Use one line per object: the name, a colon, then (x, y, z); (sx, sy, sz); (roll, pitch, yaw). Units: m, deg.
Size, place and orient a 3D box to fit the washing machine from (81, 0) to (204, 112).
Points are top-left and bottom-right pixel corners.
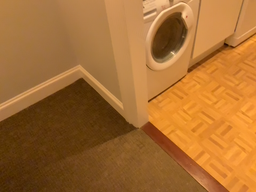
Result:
washing machine: (0.110, -0.500, 1.710); (0.620, 0.890, 0.630); (-32, 50, -22)
